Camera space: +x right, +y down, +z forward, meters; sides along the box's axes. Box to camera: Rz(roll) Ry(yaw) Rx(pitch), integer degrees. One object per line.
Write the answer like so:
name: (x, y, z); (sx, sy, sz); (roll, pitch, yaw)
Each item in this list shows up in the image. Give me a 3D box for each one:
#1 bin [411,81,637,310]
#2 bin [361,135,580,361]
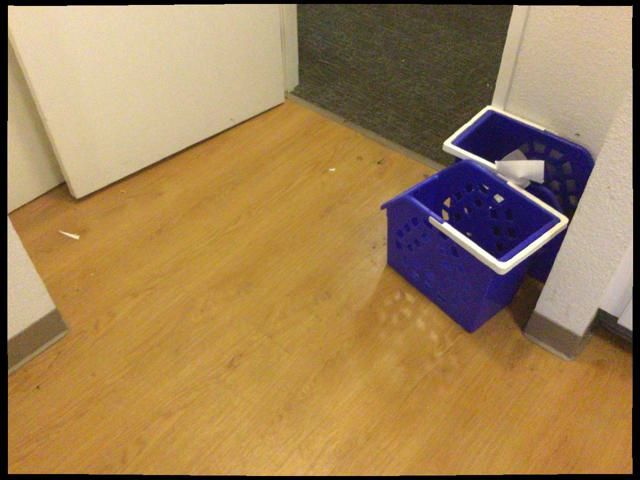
bin: (0.569, -0.140, 1.720); (0.320, 0.430, 0.440); (-29, 53, -27)
bin: (0.389, 0.010, 1.620); (0.300, 0.350, 0.450); (-29, 53, -27)
